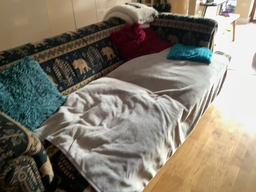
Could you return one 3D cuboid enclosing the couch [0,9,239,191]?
[{"bbox_3d":[-0.050,-0.100,1.800,1.160,0.730,2.450,20,38,30],"label":"couch"}]
